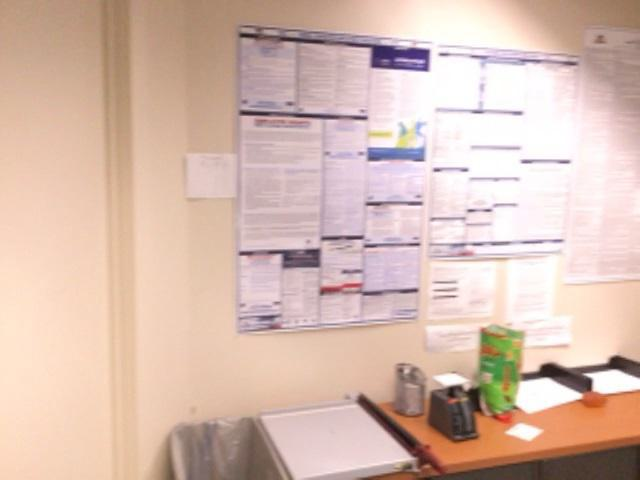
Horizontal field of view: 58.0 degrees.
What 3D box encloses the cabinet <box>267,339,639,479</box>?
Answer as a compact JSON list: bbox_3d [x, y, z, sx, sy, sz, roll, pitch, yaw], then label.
[{"bbox_3d":[0.580,0.870,1.910,1.420,0.830,0.570,-3,7,-11],"label":"cabinet"}]
